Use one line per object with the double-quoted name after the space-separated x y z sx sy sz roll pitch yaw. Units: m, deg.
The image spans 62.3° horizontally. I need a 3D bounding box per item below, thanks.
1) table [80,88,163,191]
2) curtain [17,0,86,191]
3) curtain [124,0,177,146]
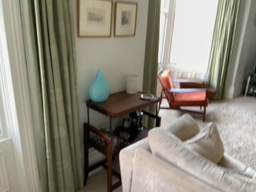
-0.060 0.420 2.150 0.690 0.820 0.410 -16 27 -41 "table"
-0.540 -0.440 1.520 0.210 2.970 0.350 19 26 38 "curtain"
0.280 -0.880 2.560 0.430 3.060 0.400 16 23 35 "curtain"
